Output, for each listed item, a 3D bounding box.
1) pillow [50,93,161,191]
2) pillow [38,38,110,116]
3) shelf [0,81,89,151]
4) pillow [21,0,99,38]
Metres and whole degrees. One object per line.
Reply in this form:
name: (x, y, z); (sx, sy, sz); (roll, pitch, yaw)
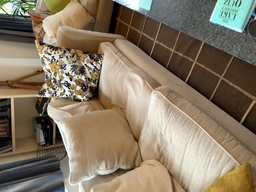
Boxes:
pillow: (-0.140, 0.290, 1.430); (0.520, 0.480, 0.260); (48, 122, 18)
pillow: (-0.470, -0.170, 1.860); (0.170, 0.440, 0.630); (39, 118, 20)
shelf: (-1.330, 0.240, 3.000); (0.430, 1.400, 0.810); (30, 117, 53)
pillow: (-0.670, -0.830, 2.180); (0.500, 0.530, 0.230); (33, 112, 8)
